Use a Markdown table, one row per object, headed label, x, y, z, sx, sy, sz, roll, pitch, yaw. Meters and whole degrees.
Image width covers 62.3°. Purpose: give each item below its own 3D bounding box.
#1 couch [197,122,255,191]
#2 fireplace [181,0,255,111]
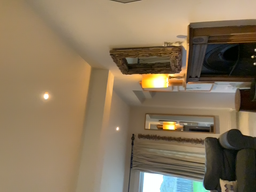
| label | x | y | z | sx | sy | sz | roll | pitch | yaw |
| --- | --- | --- | --- | --- | --- | --- | --- | --- | --- |
| couch | 1.420 | 1.390 | 2.900 | 0.950 | 0.840 | 1.850 | 55 | -140 | -68 |
| fireplace | 1.220 | -0.330 | 2.400 | 1.340 | 1.150 | 0.670 | 54 | -139 | -69 |
